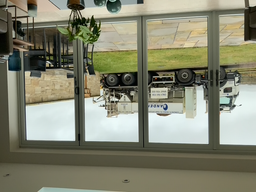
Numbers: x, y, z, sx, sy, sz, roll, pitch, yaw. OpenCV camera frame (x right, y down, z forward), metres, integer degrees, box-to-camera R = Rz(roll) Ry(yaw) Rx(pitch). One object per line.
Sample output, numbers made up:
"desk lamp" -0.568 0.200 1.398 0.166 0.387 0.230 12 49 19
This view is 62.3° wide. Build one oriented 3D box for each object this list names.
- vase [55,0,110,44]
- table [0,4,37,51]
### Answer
"vase" -0.350 -0.680 1.700 0.320 0.440 0.330 0 -178 15
"table" -1.810 -0.950 3.040 0.760 0.490 0.510 0 -178 10
